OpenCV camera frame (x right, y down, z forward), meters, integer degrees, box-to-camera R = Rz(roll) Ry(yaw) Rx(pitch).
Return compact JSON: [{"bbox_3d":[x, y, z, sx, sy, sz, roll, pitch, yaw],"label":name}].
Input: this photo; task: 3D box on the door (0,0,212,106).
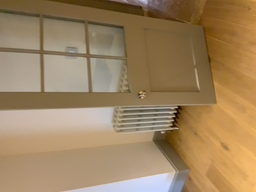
[{"bbox_3d":[-0.090,-0.320,1.720,0.050,1.880,0.750,161,107,-65],"label":"door"}]
